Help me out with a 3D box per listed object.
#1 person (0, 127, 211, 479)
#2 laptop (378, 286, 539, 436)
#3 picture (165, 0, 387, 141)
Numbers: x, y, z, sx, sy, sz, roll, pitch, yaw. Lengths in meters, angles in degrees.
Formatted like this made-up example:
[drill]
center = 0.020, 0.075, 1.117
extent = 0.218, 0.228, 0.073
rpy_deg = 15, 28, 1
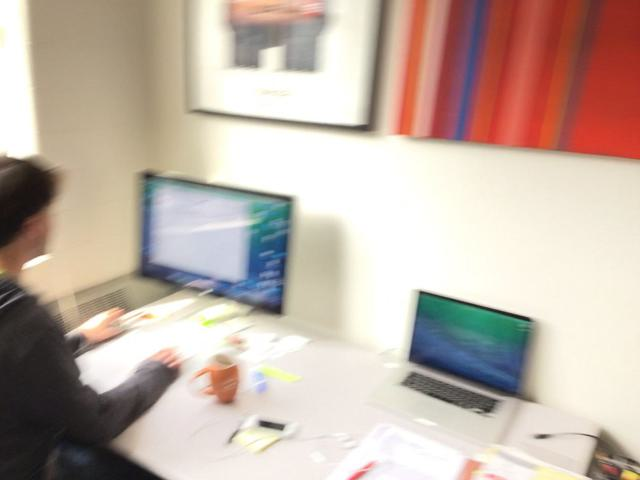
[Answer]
[person]
center = -0.700, 0.440, 1.460
extent = 0.560, 1.360, 0.660
rpy_deg = 8, 16, 19
[laptop]
center = 0.370, 0.310, 1.570
extent = 0.350, 0.250, 0.210
rpy_deg = 13, 19, 34
[picture]
center = -0.160, -0.860, 1.690
extent = 0.780, 1.060, 0.100
rpy_deg = 13, 19, 34
